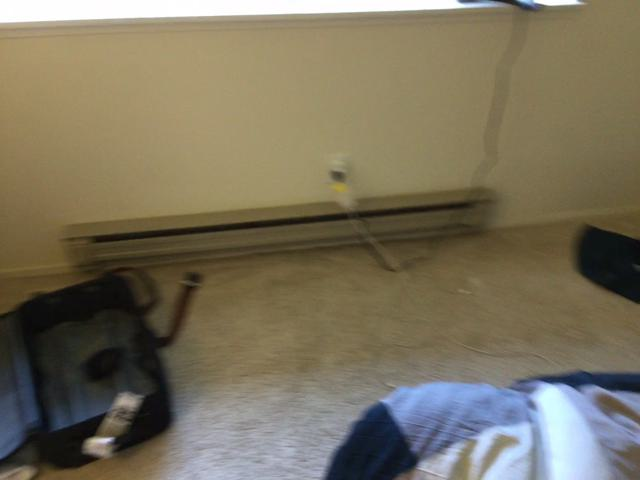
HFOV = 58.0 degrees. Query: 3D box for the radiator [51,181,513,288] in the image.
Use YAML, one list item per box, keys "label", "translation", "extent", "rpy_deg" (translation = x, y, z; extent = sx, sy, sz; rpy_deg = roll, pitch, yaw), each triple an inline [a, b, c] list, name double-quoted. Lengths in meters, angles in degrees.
- label: "radiator"
  translation: [-0.090, -0.030, 2.110]
  extent: [1.620, 0.210, 0.090]
  rpy_deg: [-6, 36, -9]
